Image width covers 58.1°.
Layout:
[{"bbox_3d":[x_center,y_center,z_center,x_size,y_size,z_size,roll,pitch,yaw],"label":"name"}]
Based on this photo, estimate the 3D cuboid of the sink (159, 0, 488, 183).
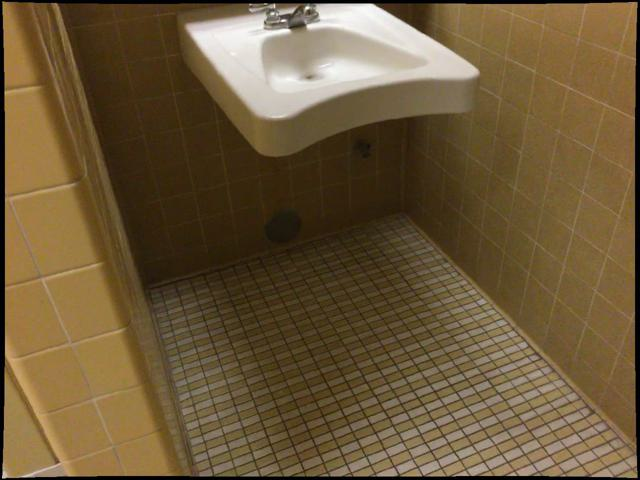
[{"bbox_3d":[-0.040,-0.451,1.410,0.529,0.180,0.710,-18,40,-17],"label":"sink"}]
